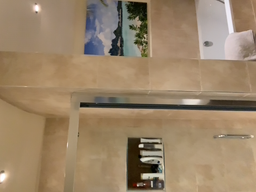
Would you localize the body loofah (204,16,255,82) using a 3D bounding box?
[{"bbox_3d":[1.140,-0.440,2.150,0.530,0.490,0.460,117,154,-78],"label":"body loofah"}]

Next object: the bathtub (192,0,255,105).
[{"bbox_3d":[1.230,-0.780,2.520,0.740,0.570,1.650,109,161,-74],"label":"bathtub"}]
